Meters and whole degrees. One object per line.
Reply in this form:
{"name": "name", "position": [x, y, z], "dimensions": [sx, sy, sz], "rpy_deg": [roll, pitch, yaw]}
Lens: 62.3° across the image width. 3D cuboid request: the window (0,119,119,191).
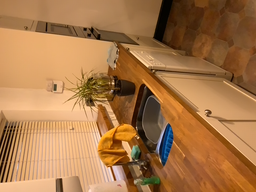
{"name": "window", "position": [-0.560, 0.470, 1.560], "dimensions": [0.970, 0.830, 0.020], "rpy_deg": [-122, 40, -54]}
